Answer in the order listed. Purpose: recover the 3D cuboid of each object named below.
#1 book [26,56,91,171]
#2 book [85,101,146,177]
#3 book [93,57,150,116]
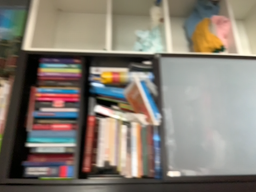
[{"bbox_3d":[-0.300,0.070,0.990,0.110,0.220,0.520,103,167,-66],"label":"book"},{"bbox_3d":[-0.060,0.210,1.000,0.210,0.240,0.310,103,167,-66],"label":"book"},{"bbox_3d":[-0.040,-0.040,1.110,0.220,0.260,0.230,104,166,-69],"label":"book"}]
